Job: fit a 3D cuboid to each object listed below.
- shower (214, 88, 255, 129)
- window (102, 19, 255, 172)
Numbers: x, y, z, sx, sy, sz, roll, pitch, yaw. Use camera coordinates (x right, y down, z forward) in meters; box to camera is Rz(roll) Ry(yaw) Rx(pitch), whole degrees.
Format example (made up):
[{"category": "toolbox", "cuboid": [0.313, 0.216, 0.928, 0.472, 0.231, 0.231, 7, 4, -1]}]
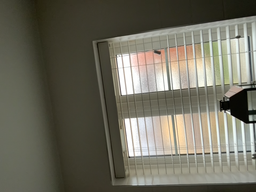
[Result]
[{"category": "shower", "cuboid": [0.630, 0.050, 1.040, 0.180, 0.340, 0.160, -24, -72, -80]}, {"category": "window", "cuboid": [0.390, 0.030, 1.330, 0.070, 1.010, 0.860, -38, -59, -79]}]
